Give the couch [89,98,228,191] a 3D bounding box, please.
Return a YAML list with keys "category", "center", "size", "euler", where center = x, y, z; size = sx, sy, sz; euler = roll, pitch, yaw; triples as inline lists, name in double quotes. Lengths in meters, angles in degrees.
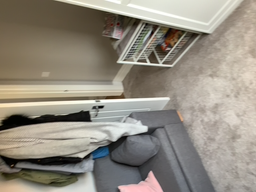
- category: "couch"
  center: [0.300, 0.980, 1.990]
  size: [0.940, 0.730, 1.640]
  euler: [-52, 50, 47]
